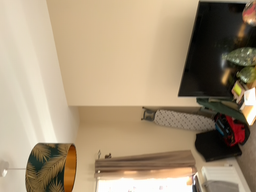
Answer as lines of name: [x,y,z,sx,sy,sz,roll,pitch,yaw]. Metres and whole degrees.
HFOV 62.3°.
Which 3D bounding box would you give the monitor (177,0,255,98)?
monitor: [0.910,-0.410,2.170,0.070,0.620,1.050,-93,4,-50]
